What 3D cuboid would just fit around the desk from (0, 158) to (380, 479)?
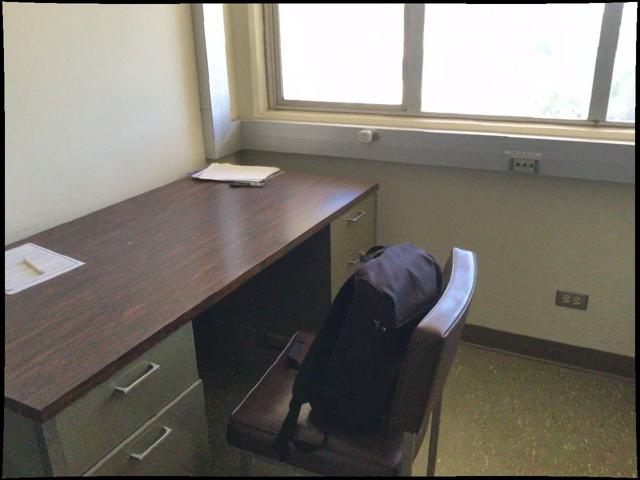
[{"bbox_3d":[-0.489,0.331,1.970,0.838,0.782,1.630,9,25,26],"label":"desk"}]
